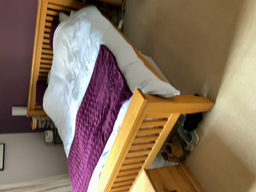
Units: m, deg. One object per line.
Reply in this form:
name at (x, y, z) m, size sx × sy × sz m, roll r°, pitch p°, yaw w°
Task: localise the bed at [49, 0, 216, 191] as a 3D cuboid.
bed at (-0.390, 0.180, 2.710) m, size 2.220 × 0.660 × 2.070 m, roll 59°, pitch 136°, yaw 44°
